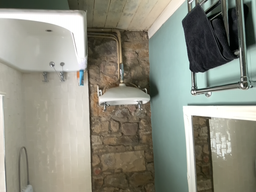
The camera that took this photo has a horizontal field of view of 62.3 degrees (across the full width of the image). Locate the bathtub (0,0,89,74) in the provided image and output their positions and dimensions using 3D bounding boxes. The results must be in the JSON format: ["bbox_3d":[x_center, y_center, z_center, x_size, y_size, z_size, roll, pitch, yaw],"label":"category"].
[{"bbox_3d":[-0.710,-0.560,1.660,0.710,0.540,1.660,-2,179,-13],"label":"bathtub"}]

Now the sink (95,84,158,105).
[{"bbox_3d":[-0.040,-0.010,2.420,0.640,0.200,0.410,-2,179,-12],"label":"sink"}]
